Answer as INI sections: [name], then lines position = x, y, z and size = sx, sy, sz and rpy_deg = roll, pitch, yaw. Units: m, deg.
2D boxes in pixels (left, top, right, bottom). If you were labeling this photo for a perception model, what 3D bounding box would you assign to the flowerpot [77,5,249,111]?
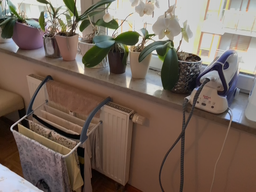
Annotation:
[flowerpot]
position = 0.200, -0.310, 1.300
size = 0.820, 0.340, 0.560
rpy_deg = 20, 33, 27
